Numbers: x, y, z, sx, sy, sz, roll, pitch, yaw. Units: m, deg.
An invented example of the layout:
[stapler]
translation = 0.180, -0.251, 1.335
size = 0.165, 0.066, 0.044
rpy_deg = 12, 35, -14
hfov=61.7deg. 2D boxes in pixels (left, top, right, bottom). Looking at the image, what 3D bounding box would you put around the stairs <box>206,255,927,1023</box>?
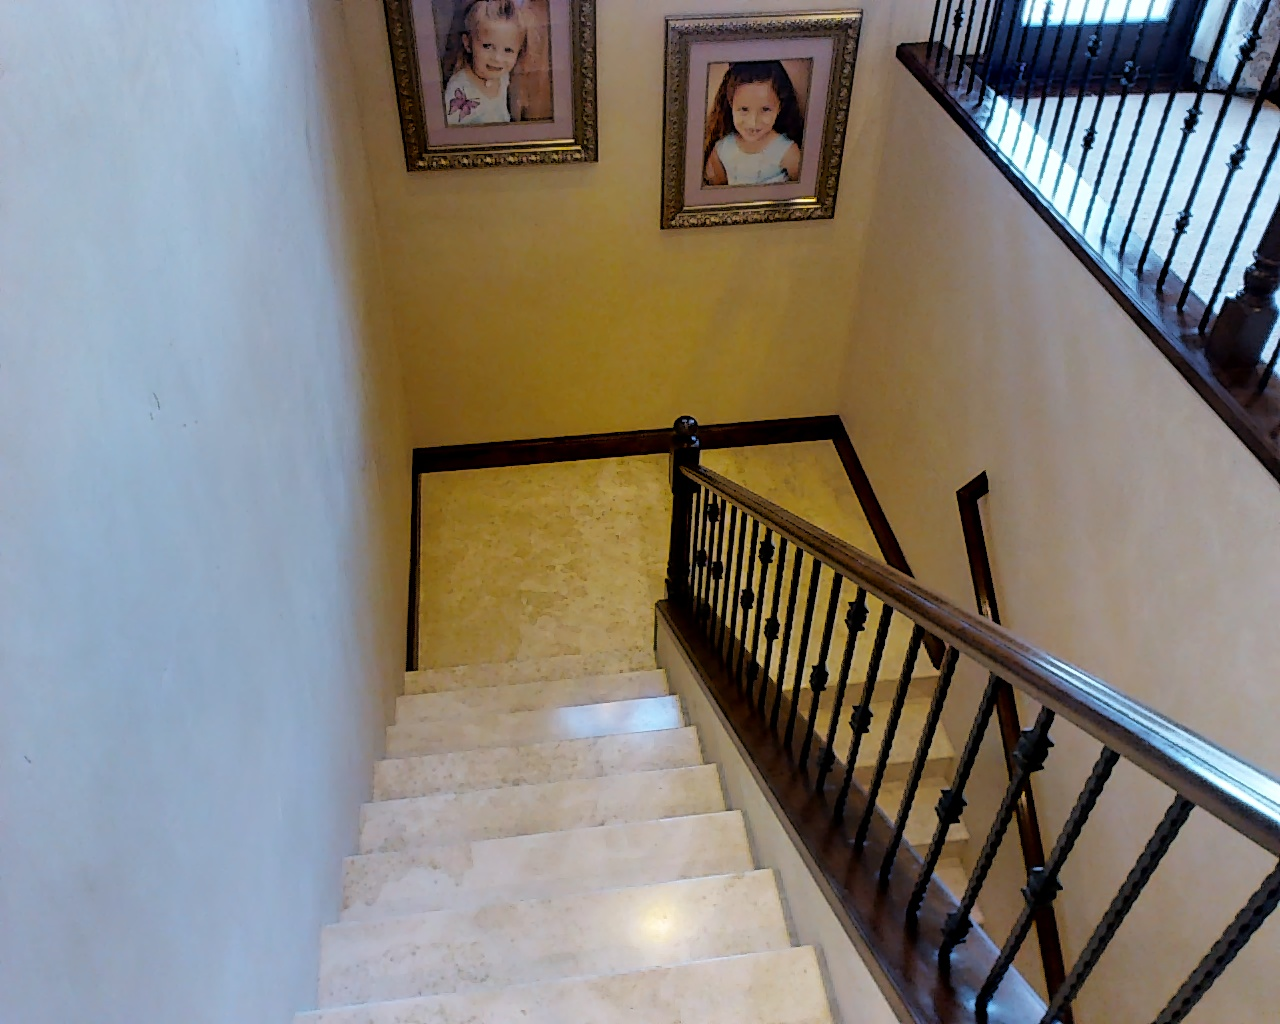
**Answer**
[stairs]
translation = -0.190, 0.980, 2.460
size = 0.940, 1.840, 2.960
rpy_deg = -5, 42, -7
